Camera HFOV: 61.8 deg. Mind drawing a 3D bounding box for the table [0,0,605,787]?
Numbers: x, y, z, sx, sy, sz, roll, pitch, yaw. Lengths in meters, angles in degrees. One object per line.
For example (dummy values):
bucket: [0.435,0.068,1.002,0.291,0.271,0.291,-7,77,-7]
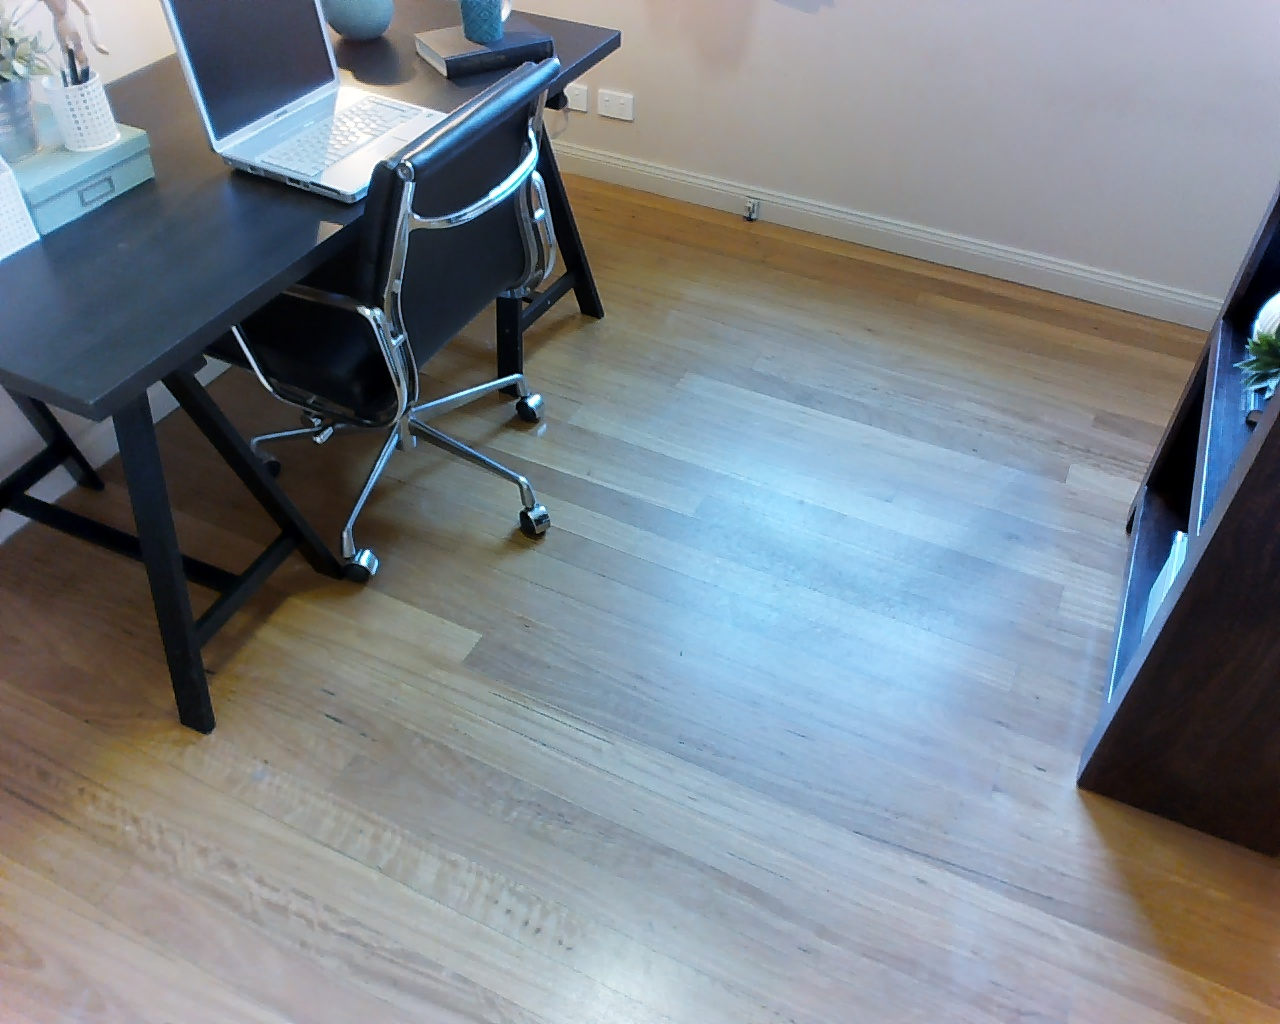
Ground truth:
table: [-0.740,-0.380,2.080,0.810,0.820,1.360,19,46,18]
